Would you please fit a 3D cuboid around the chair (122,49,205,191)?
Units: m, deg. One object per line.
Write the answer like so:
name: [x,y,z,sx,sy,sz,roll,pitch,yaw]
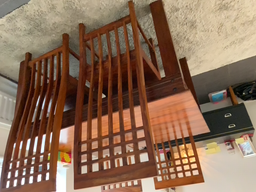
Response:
chair: [0.310,0.230,2.000,0.430,1.160,0.510,-18,152,19]
